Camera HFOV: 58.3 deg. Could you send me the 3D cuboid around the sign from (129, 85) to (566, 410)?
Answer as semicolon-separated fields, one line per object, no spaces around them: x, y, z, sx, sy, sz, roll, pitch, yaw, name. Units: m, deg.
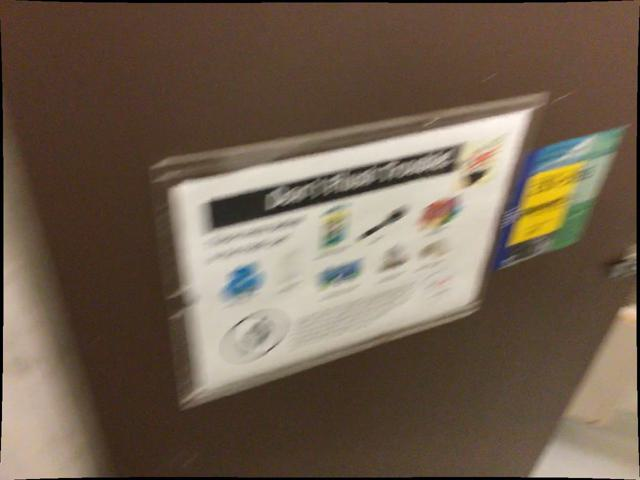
0.030;0.010;0.480;0.330;0.250;0.020;-12;41;-20;sign
